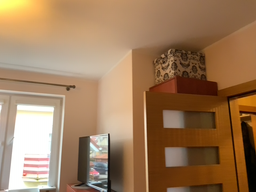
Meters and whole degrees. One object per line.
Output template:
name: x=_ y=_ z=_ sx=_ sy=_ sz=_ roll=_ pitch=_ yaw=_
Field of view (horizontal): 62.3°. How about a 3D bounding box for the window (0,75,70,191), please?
window: x=-1.690 y=0.570 z=2.960 sx=1.600 sy=1.690 sz=0.210 roll=6 pitch=-14 yaw=-26
